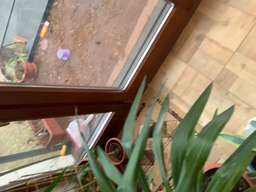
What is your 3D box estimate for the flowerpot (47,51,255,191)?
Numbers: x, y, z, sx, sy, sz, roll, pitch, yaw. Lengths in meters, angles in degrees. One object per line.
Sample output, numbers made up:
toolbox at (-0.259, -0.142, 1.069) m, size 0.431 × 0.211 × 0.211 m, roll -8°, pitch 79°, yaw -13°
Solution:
flowerpot at (0.320, 0.290, 0.830) m, size 0.590 × 0.920 × 0.560 m, roll 44°, pitch 116°, yaw 29°
